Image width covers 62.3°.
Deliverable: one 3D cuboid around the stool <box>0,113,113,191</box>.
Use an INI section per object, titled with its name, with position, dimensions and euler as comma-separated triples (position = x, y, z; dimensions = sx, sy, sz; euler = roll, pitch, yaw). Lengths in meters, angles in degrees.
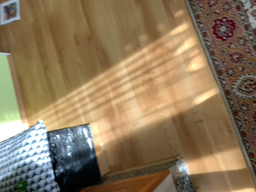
[stool]
position = -0.560, 0.440, 1.530
dimensions = 0.670, 0.470, 0.410
euler = -22, 82, 28
